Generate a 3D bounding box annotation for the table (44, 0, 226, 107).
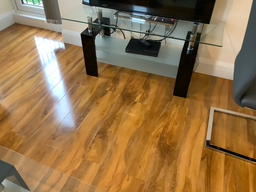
[{"bbox_3d":[0.040,-0.420,1.860,1.390,0.480,0.460,16,44,16],"label":"table"}]
